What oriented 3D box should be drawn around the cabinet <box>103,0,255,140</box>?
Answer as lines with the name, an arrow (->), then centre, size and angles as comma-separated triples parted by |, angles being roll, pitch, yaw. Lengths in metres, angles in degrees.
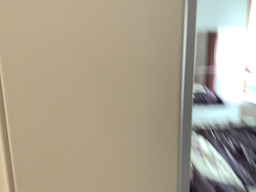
cabinet -> 0.960, -0.600, 3.410 | 2.630, 2.330, 0.700 | -2, 11, -5
